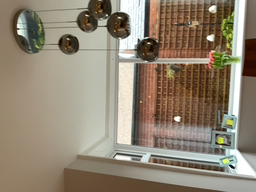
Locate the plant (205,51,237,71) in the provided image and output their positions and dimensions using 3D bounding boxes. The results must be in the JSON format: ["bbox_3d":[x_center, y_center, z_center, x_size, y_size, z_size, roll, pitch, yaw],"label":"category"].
[{"bbox_3d":[1.250,-0.470,2.890,0.360,0.330,0.260,-26,-62,-75],"label":"plant"}]
